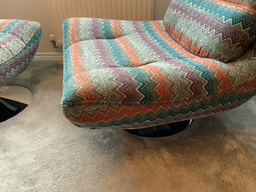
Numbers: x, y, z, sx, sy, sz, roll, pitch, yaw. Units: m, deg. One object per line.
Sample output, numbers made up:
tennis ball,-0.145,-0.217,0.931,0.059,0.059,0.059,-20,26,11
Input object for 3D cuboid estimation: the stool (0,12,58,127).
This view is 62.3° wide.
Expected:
stool,-0.800,-0.150,1.120,0.460,0.420,0.680,8,34,14

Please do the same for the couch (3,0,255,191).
couch,0.100,-0.300,0.920,0.870,0.860,0.860,-8,33,-11
